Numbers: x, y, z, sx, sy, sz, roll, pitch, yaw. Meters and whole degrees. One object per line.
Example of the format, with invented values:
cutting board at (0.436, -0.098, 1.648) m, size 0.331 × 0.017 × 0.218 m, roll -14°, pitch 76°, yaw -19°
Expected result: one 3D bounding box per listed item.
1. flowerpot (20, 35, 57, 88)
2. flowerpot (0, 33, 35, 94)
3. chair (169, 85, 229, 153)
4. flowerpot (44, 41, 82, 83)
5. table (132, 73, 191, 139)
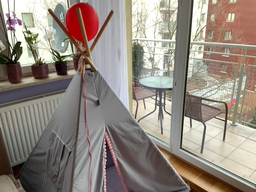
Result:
flowerpot at (-0.900, -0.360, 2.140) m, size 0.210 × 0.470 × 0.260 m, roll -16°, pitch 25°, yaw -37°
flowerpot at (-1.090, -0.320, 2.000) m, size 0.250 × 0.510 × 0.250 m, roll -16°, pitch 25°, yaw -37°
chair at (0.850, 0.250, 2.590) m, size 0.490 × 0.590 × 0.450 m, roll -17°, pitch 26°, yaw -39°
flowerpot at (-0.700, -0.380, 2.300) m, size 0.270 × 0.390 × 0.270 m, roll -16°, pitch 25°, yaw -37°
table at (0.440, 0.100, 2.920) m, size 0.550 × 0.660 × 0.550 m, roll -17°, pitch 26°, yaw -39°
